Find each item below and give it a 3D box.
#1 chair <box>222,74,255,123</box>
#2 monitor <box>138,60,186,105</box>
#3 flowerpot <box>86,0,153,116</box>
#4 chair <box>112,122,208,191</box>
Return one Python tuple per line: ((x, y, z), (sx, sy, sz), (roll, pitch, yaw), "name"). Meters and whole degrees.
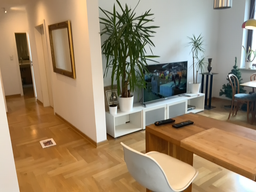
((2.210, 0.030, 4.180), (0.420, 0.860, 0.420), (-12, 17, -36), "chair")
((0.710, -0.300, 4.230), (1.240, 0.730, 0.060), (-11, 17, -35), "monitor")
((-0.120, -0.690, 3.530), (0.820, 1.790, 0.670), (-10, 16, -32), "flowerpot")
((0.180, 0.720, 1.260), (0.370, 1.010, 0.350), (-12, 17, -37), "chair")
